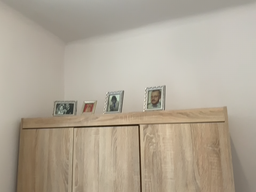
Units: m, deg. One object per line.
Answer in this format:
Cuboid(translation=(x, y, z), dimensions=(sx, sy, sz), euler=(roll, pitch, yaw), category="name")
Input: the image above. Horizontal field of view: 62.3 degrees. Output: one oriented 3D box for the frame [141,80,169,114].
Cuboid(translation=(0.160, 0.010, 1.260), dimensions=(0.140, 0.180, 0.090), euler=(-5, -10, 18), category="frame")
